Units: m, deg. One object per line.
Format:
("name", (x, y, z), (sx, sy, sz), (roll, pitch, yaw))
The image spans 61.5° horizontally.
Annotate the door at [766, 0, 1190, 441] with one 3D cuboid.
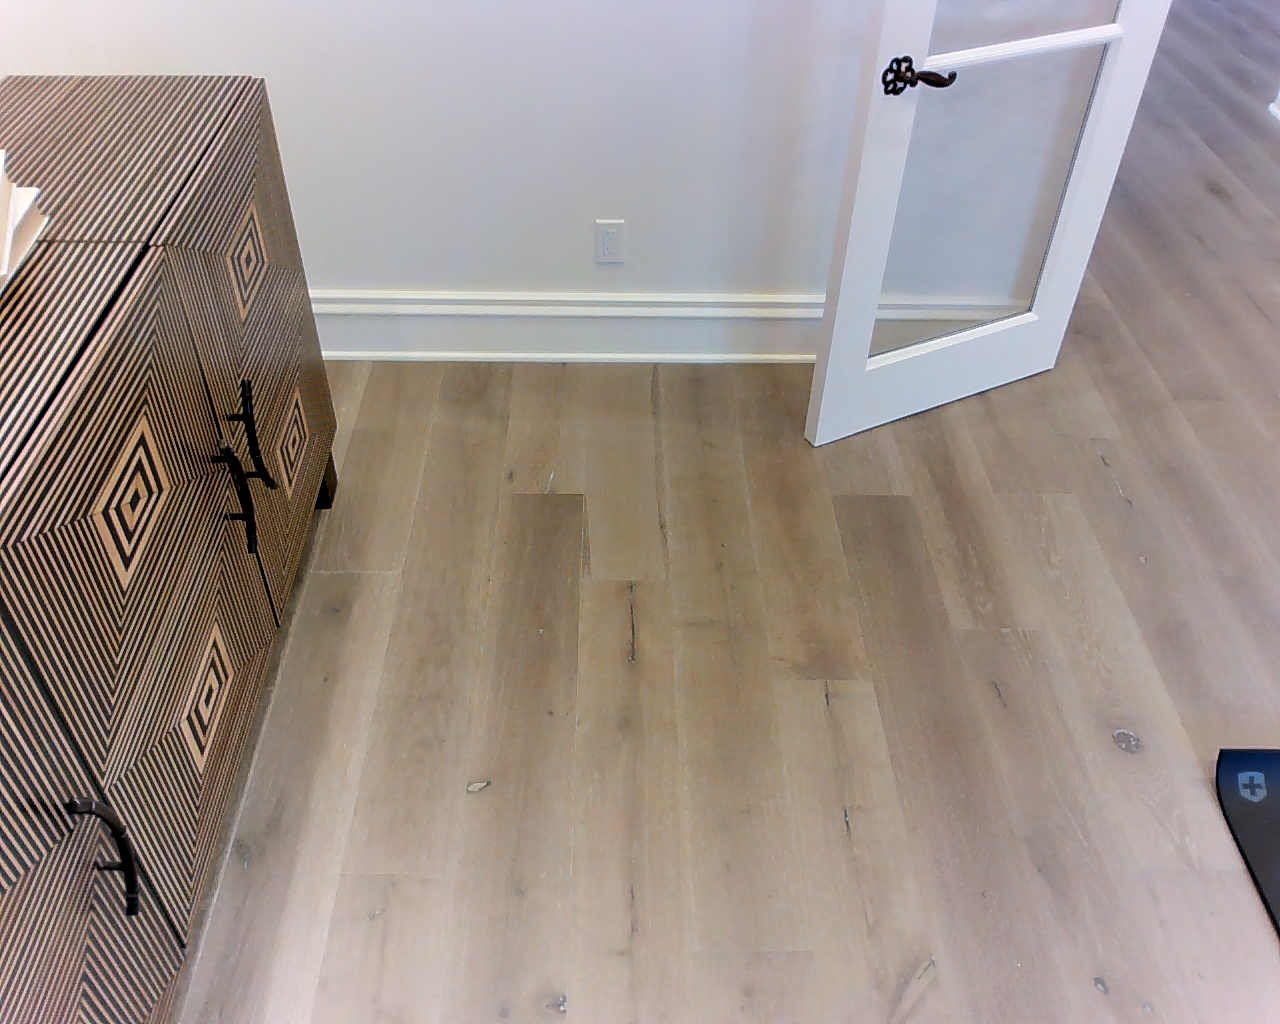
("door", (0.770, -1.210, 2.000), (0.810, 2.400, 0.170), (-17, 47, -21))
